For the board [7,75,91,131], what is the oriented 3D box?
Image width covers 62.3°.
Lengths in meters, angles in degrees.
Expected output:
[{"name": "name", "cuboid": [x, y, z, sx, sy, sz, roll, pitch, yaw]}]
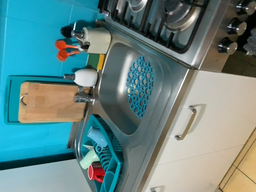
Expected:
[{"name": "board", "cuboid": [-0.400, 0.040, 1.090, 0.060, 0.360, 0.270, 47, 125, 44]}]
